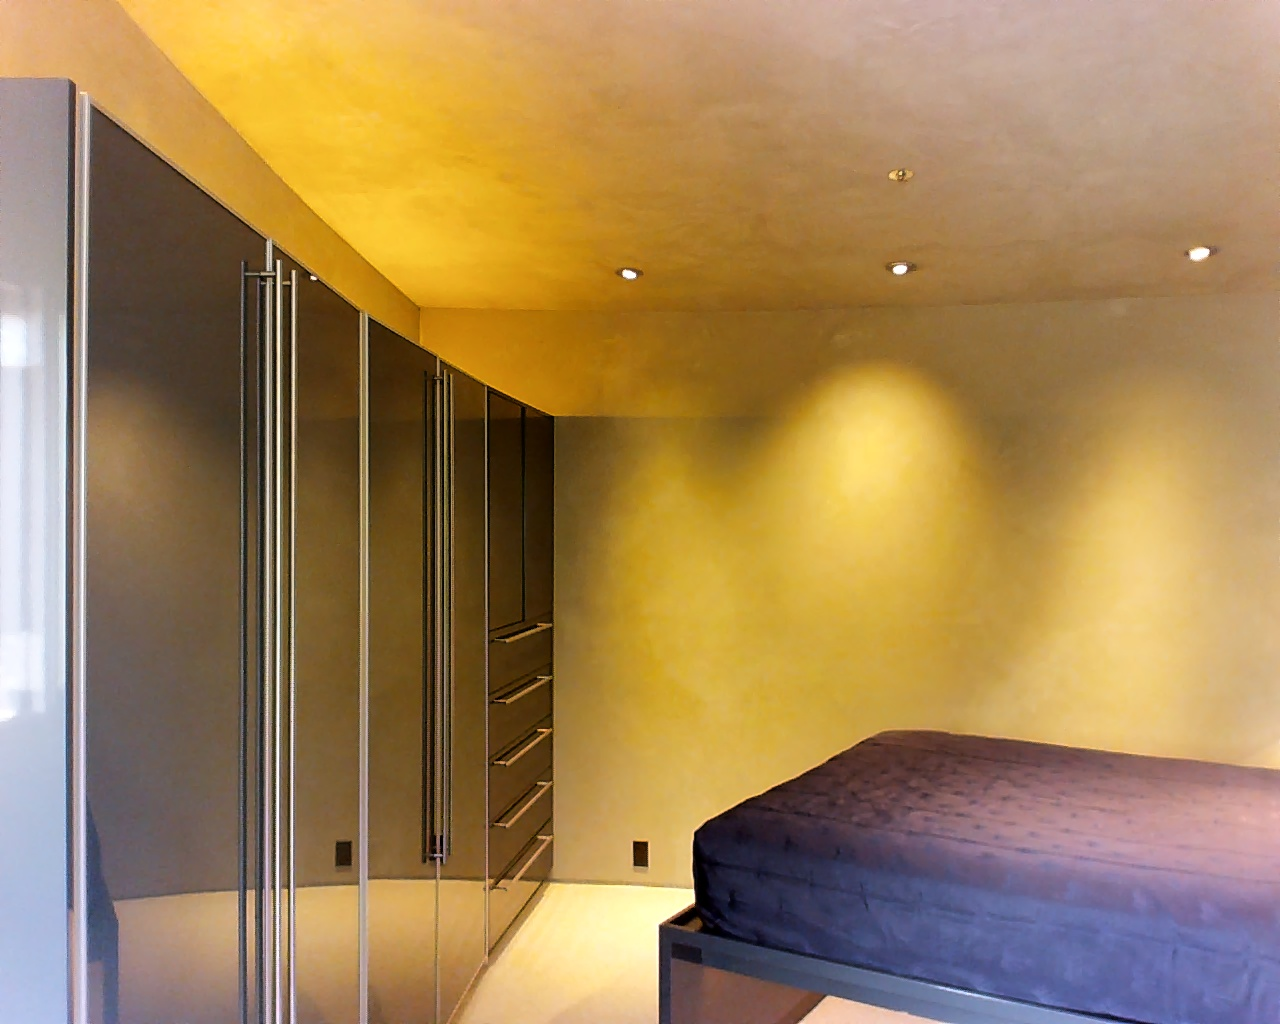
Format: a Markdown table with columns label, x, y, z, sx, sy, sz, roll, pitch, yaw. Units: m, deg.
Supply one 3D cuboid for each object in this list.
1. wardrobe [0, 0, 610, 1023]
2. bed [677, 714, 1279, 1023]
| label | x | y | z | sx | sy | sz | roll | pitch | yaw |
| --- | --- | --- | --- | --- | --- | --- | --- | --- | --- |
| wardrobe | -0.770 | 0.540 | 3.050 | 0.780 | 2.201 | 3.740 | 0 | -1 | 7 |
| bed | 1.420 | 1.130 | 2.920 | 2.090 | 0.730 | 1.650 | -1 | -1 | 32 |
